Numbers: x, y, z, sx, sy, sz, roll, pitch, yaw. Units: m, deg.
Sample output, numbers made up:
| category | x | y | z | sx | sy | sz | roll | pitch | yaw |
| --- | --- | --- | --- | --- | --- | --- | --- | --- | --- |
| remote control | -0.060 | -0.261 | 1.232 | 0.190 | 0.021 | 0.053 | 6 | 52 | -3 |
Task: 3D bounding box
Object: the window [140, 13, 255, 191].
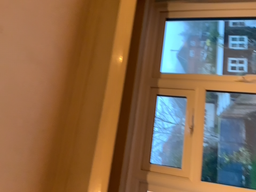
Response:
| category | x | y | z | sx | sy | sz | roll | pitch | yaw |
| --- | --- | --- | --- | --- | --- | --- | --- | --- | --- |
| window | 0.680 | 0.250 | 1.230 | 0.080 | 1.130 | 1.620 | 48 | -130 | -70 |
